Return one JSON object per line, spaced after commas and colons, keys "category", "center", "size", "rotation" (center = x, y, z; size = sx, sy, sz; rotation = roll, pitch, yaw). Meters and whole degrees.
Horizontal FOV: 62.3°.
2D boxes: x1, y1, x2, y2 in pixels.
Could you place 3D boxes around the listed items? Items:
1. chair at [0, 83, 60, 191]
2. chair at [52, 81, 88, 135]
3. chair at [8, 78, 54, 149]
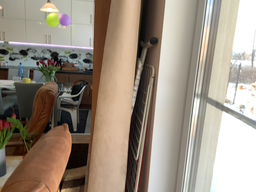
{"category": "chair", "center": [-1.130, 0.420, 2.100], "size": [0.800, 1.000, 0.660], "rotation": [0, 13, -13]}
{"category": "chair", "center": [-0.980, 0.190, 3.670], "size": [0.510, 0.810, 0.510], "rotation": [2, 12, -5]}
{"category": "chair", "center": [-1.410, 0.230, 3.190], "size": [0.430, 0.900, 0.680], "rotation": [2, 13, -7]}
